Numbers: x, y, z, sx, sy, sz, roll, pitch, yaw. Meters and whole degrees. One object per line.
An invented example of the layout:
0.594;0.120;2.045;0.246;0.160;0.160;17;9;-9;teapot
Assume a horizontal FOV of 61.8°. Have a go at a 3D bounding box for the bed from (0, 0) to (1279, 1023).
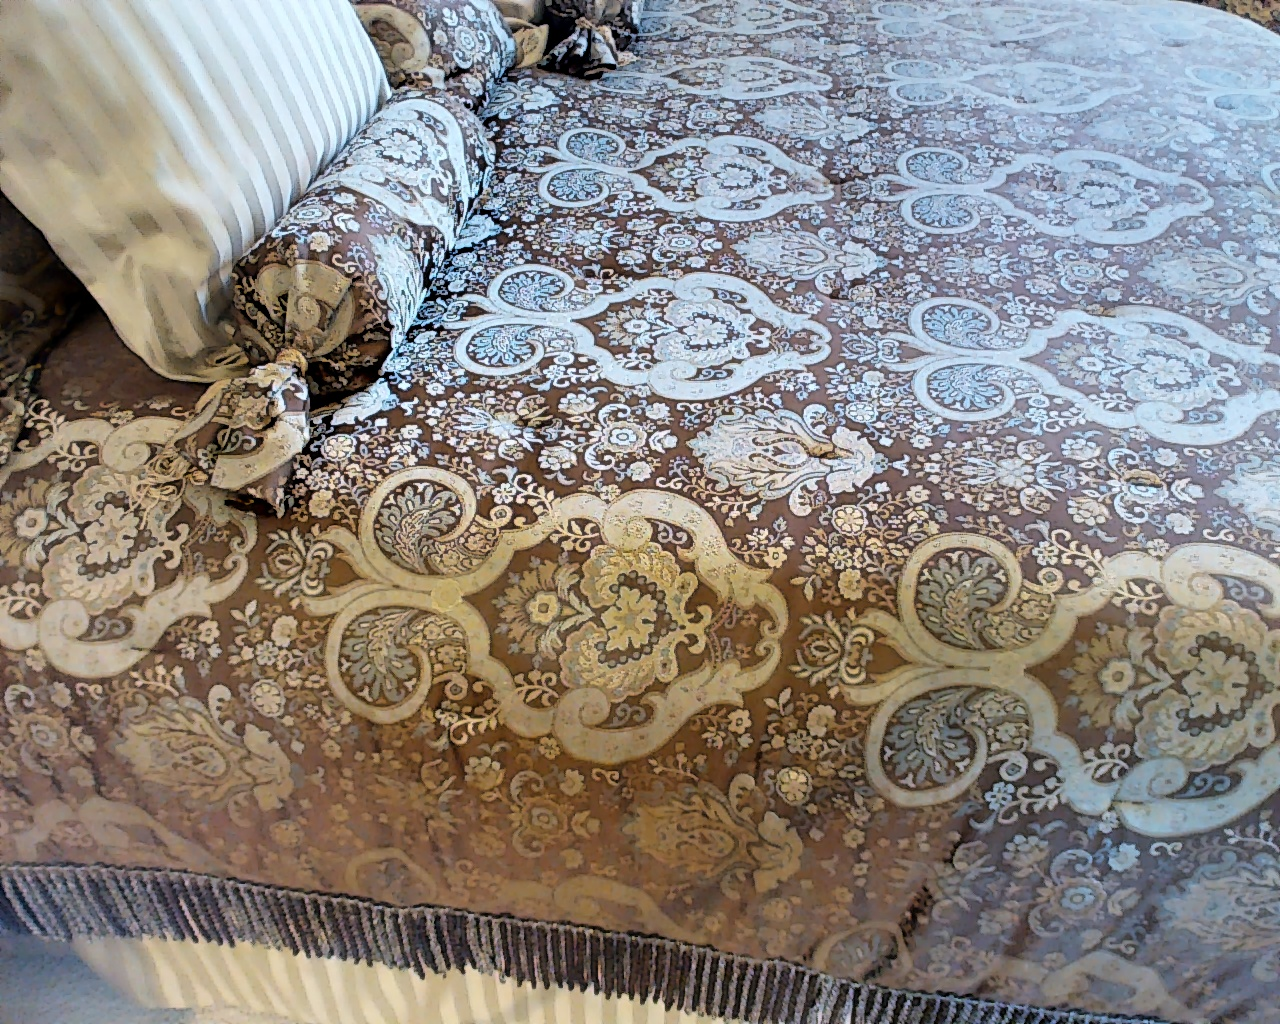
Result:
0.160;-0.230;1.880;2.250;1.040;2.290;7;41;8;bed
